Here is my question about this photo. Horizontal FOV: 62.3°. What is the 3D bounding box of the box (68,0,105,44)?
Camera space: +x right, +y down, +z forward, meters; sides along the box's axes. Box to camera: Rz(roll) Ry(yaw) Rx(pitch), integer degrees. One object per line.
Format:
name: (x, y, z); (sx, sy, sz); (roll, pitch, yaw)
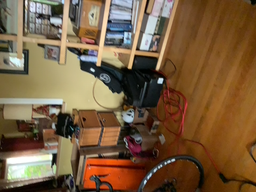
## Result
box: (-0.430, -0.880, 2.210); (0.230, 0.290, 0.590); (-133, 49, -55)

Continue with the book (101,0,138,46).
book: (-0.100, -0.900, 2.370); (0.220, 0.270, 0.610); (-132, 49, -55)
